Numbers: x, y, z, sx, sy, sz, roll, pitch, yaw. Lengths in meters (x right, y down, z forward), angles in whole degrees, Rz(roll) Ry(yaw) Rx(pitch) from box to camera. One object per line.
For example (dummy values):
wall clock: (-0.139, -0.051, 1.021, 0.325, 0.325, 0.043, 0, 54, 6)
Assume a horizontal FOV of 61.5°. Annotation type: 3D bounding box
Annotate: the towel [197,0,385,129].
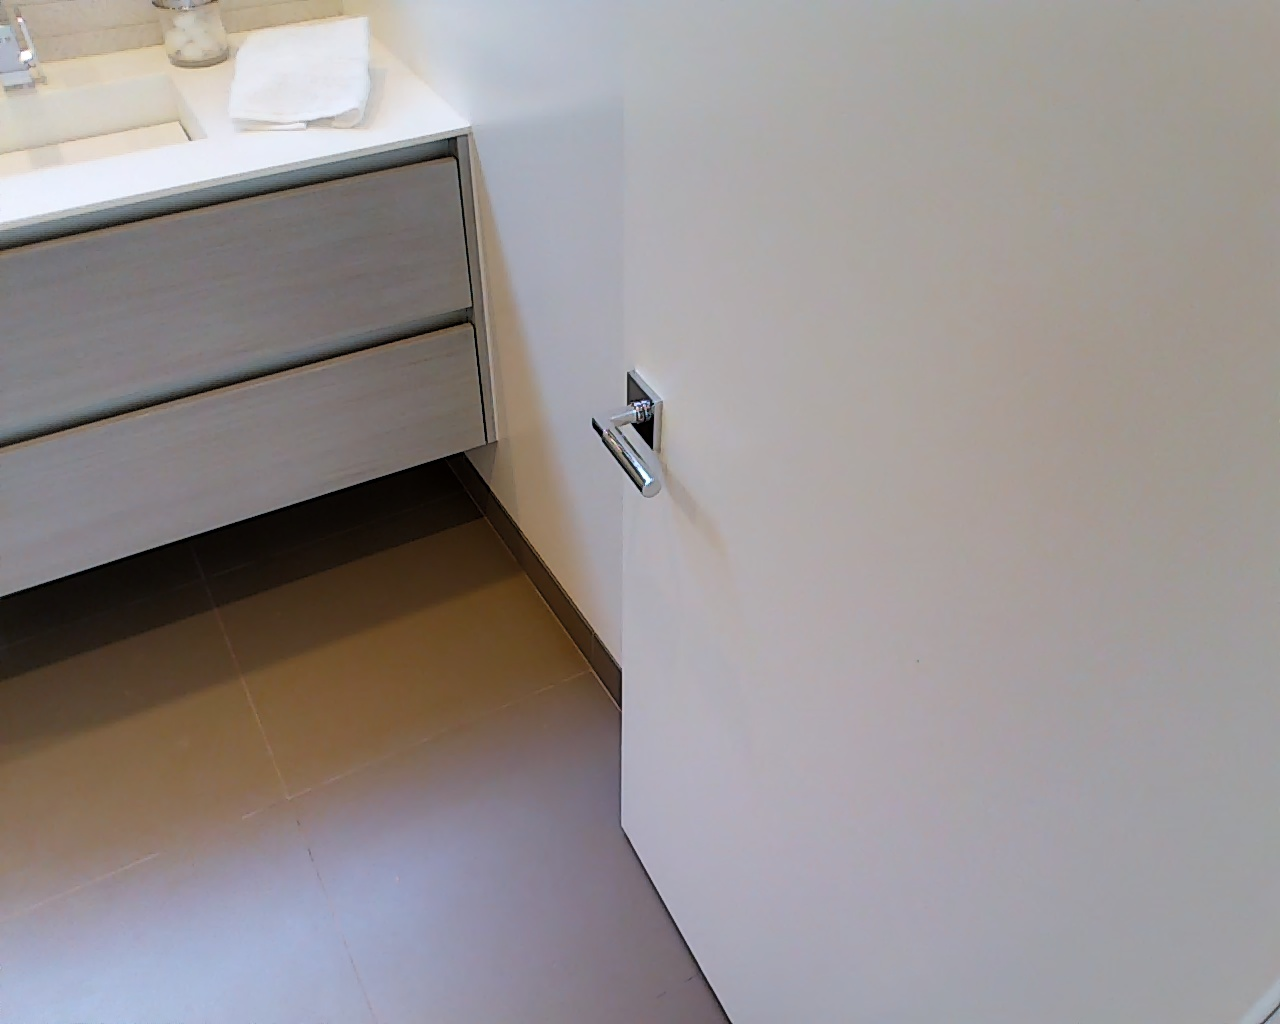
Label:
towel: (-0.550, -0.740, 1.740, 0.240, 0.100, 0.330, -4, 43, -6)
